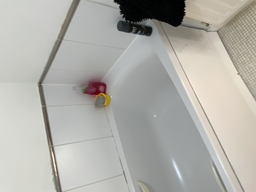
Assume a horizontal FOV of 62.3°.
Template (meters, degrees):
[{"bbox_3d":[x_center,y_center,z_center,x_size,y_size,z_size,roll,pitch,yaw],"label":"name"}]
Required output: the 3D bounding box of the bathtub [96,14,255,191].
[{"bbox_3d":[0.440,0.460,1.220,0.710,0.580,1.660,-44,58,44],"label":"bathtub"}]
